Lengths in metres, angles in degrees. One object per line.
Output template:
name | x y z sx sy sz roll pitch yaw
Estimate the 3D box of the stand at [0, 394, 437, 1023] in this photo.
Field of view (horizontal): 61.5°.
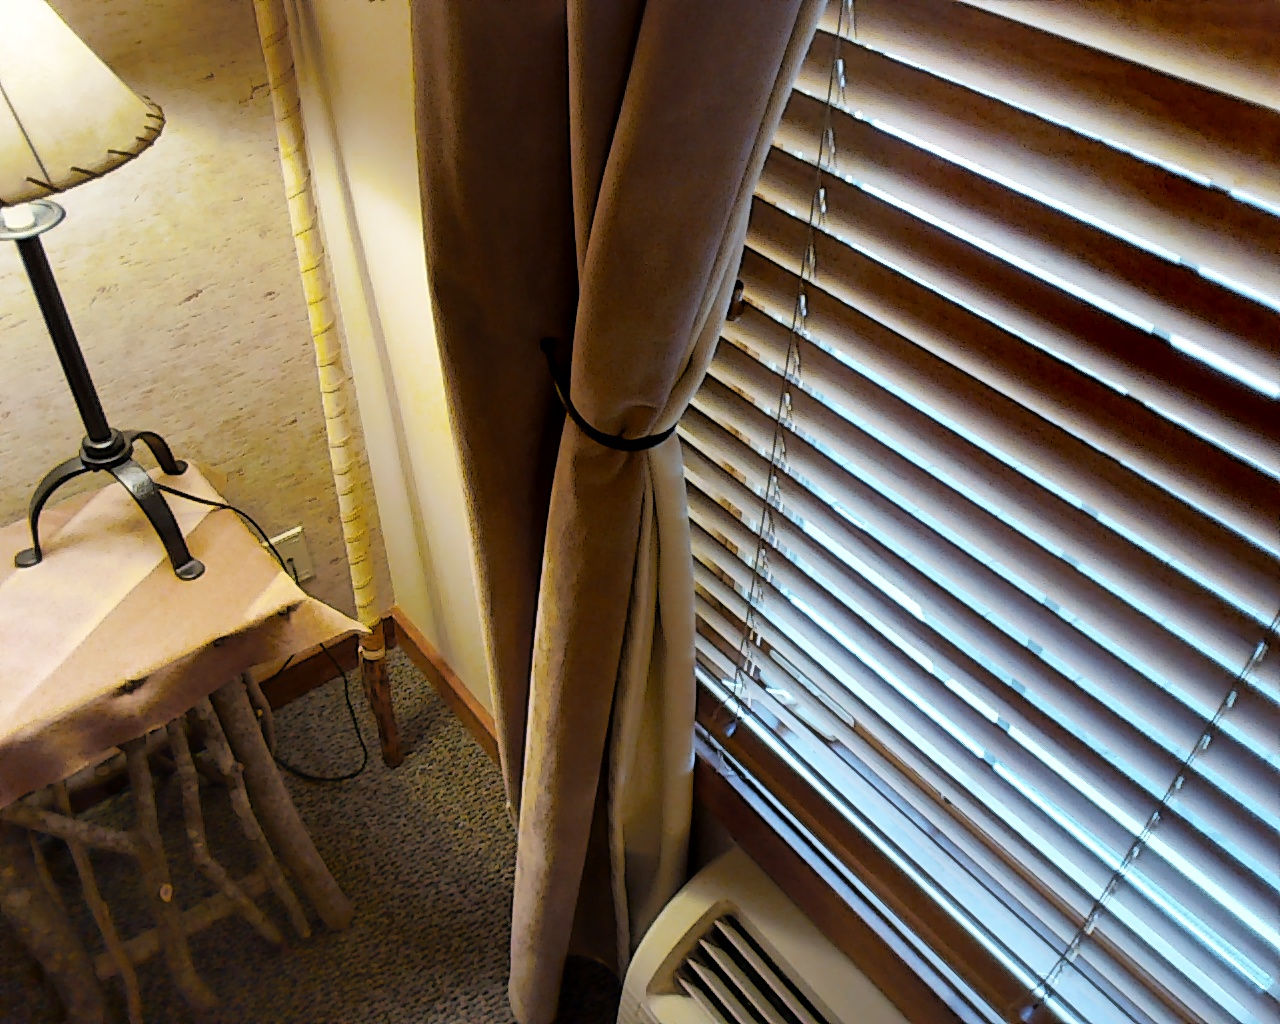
stand | -0.710 0.330 1.490 0.620 0.660 0.490 -27 49 -29
